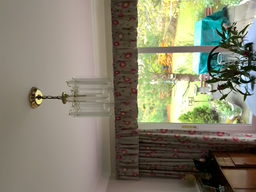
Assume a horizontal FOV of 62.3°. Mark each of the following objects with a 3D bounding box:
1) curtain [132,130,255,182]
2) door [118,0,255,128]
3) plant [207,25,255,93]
[{"bbox_3d":[1.010,0.850,3.060,0.240,1.890,0.640,-72,-18,-77],"label":"curtain"},{"bbox_3d":[0.960,-0.760,3.060,0.130,2.190,2.470,-70,-19,-78],"label":"door"},{"bbox_3d":[0.880,-0.270,1.650,0.320,0.400,0.470,-52,-38,-83],"label":"plant"}]
